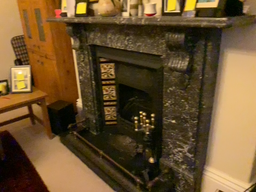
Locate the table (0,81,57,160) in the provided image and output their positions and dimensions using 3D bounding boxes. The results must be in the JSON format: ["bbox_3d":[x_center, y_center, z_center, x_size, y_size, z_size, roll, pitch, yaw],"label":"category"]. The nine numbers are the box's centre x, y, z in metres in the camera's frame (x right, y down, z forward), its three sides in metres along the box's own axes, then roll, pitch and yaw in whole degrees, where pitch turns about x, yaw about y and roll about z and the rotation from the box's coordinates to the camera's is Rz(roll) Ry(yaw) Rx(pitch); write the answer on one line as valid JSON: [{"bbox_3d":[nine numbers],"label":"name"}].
[{"bbox_3d":[-1.260,0.220,2.350,0.620,0.540,0.620,-21,29,-40],"label":"table"}]
